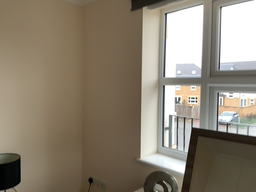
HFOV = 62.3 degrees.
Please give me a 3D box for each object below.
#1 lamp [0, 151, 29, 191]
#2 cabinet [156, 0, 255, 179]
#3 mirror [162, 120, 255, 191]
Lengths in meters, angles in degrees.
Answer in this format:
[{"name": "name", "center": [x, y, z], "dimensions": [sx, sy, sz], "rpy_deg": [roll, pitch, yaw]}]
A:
[{"name": "lamp", "center": [-0.990, 0.680, 1.670], "dimensions": [0.310, 0.370, 0.290], "rpy_deg": [3, 4, 43]}, {"name": "cabinet", "center": [0.960, -0.100, 1.390], "dimensions": [0.110, 1.330, 1.850], "rpy_deg": [-2, 4, -44]}, {"name": "mirror", "center": [0.530, 0.430, 1.170], "dimensions": [0.400, 0.470, 0.540], "rpy_deg": [-5, 7, -44]}]
